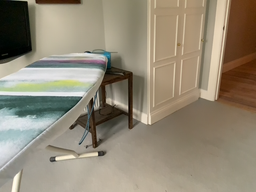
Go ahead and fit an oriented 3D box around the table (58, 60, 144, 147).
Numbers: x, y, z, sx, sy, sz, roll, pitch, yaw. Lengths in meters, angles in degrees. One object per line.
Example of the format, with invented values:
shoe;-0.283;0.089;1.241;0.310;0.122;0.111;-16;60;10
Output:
table;-0.270;0.020;2.290;0.660;0.640;0.580;-20;28;-38

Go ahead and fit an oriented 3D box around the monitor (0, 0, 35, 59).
monitor;-0.990;-0.510;1.640;0.050;0.430;0.660;7;20;15
